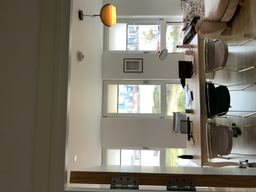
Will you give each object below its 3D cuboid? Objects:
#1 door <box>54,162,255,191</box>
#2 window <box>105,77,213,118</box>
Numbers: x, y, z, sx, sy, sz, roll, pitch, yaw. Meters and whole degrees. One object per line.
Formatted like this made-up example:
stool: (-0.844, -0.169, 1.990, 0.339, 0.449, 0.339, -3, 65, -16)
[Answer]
door: (0.720, 0.410, 1.080, 0.800, 1.920, 0.050, 85, -173, -75)
window: (0.710, 0.030, 4.940, 0.070, 2.480, 0.890, 21, -110, -88)
